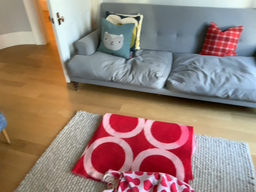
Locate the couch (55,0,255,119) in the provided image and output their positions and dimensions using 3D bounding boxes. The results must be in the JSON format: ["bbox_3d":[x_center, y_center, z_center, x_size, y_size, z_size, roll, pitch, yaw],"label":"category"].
[{"bbox_3d":[0.500,-0.520,2.370,2.150,0.720,1.070,9,40,12],"label":"couch"}]

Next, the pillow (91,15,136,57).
[{"bbox_3d":[-0.160,-0.670,2.380,0.400,0.400,0.210,7,0,21],"label":"pillow"}]

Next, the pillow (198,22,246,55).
[{"bbox_3d":[1.000,-0.620,2.300,0.420,0.310,0.150,8,9,16],"label":"pillow"}]
